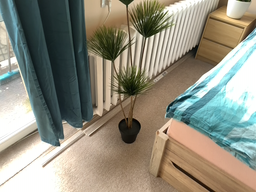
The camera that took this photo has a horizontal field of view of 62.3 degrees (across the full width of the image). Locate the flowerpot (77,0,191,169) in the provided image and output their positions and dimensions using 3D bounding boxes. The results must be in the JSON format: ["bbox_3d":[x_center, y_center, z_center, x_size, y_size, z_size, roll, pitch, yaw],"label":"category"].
[{"bbox_3d":[0.010,-0.120,1.240,0.410,1.140,0.330,-29,50,-33],"label":"flowerpot"}]
